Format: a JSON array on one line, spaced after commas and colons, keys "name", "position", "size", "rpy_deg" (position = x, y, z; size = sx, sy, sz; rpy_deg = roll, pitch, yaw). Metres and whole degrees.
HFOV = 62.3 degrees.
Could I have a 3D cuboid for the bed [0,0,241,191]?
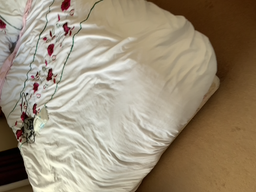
[{"name": "bed", "position": [-0.620, -0.160, 1.790], "size": [2.190, 0.910, 1.490], "rpy_deg": [49, 121, 31]}]
